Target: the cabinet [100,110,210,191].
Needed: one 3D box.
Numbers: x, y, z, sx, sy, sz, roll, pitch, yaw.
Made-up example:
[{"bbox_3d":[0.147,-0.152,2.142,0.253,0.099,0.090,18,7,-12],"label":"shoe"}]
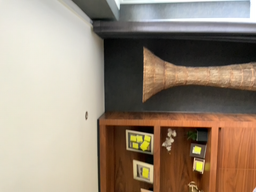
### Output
[{"bbox_3d":[0.340,1.030,2.940,0.550,1.320,1.580,-65,-25,-80],"label":"cabinet"}]
